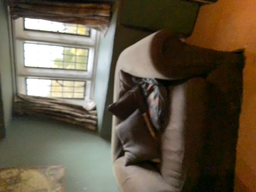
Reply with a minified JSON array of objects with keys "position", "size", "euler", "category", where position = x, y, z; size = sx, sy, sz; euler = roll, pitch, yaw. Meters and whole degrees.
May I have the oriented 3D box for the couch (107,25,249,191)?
[{"position":[0.310,0.230,1.980],"size":[1.090,0.740,1.420],"euler":[-161,73,-72],"category":"couch"}]
